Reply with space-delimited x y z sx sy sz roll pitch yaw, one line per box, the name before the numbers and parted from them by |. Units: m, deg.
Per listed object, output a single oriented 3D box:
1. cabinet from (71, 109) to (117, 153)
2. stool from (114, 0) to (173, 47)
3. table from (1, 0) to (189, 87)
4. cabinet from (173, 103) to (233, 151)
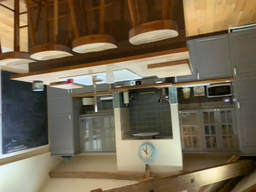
cabinet | -0.780 0.800 4.920 0.830 0.920 0.610 -5 175 17
stool | 0.130 -0.880 1.770 0.380 0.800 0.400 -5 175 18
table | -0.340 -0.720 2.480 1.920 0.960 0.900 -5 175 18
cabinet | 1.490 0.620 4.290 1.010 0.880 0.480 -5 175 17
